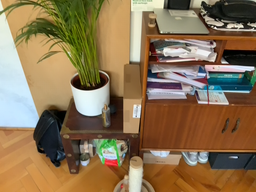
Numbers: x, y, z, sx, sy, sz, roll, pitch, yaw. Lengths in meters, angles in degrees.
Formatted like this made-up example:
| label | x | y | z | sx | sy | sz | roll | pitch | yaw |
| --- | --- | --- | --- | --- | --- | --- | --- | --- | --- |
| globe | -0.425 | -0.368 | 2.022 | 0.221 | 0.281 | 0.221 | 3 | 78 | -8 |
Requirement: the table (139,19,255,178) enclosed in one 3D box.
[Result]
| label | x | y | z | sx | sy | sz | roll | pitch | yaw |
| --- | --- | --- | --- | --- | --- | --- | --- | --- | --- |
| table | 0.690 | 0.080 | 1.470 | 1.160 | 1.040 | 0.410 | 2 | 38 | 1 |

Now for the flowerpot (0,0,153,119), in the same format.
| label | x | y | z | sx | sy | sz | roll | pitch | yaw |
| --- | --- | --- | --- | --- | --- | --- | --- | --- | --- |
| flowerpot | -0.320 | -0.480 | 1.250 | 0.880 | 1.230 | 0.440 | 2 | 38 | 1 |

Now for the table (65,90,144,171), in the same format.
| label | x | y | z | sx | sy | sz | roll | pitch | yaw |
| --- | --- | --- | --- | --- | --- | --- | --- | --- | --- |
| table | -0.150 | 0.270 | 1.670 | 0.510 | 0.450 | 0.410 | 2 | 38 | 1 |
